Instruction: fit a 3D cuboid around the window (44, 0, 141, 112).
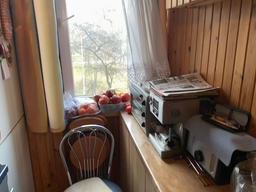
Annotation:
[{"bbox_3d":[-0.270,-0.560,1.720,0.720,1.340,0.170,-4,16,-13],"label":"window"}]
